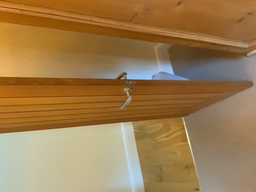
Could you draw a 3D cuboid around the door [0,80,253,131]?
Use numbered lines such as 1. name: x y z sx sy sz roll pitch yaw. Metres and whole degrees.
1. door: -0.150 0.070 1.400 0.820 1.990 0.040 -35 62 56
